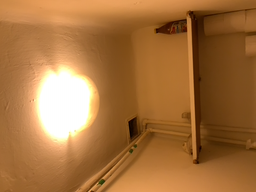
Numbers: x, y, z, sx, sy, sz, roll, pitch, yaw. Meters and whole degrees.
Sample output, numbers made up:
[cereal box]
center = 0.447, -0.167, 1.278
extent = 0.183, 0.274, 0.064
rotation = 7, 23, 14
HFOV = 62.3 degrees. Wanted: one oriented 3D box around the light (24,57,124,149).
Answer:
[light]
center = -0.210, 0.030, 0.900
extent = 0.310, 0.300, 0.100
rotation = 17, -25, -5
